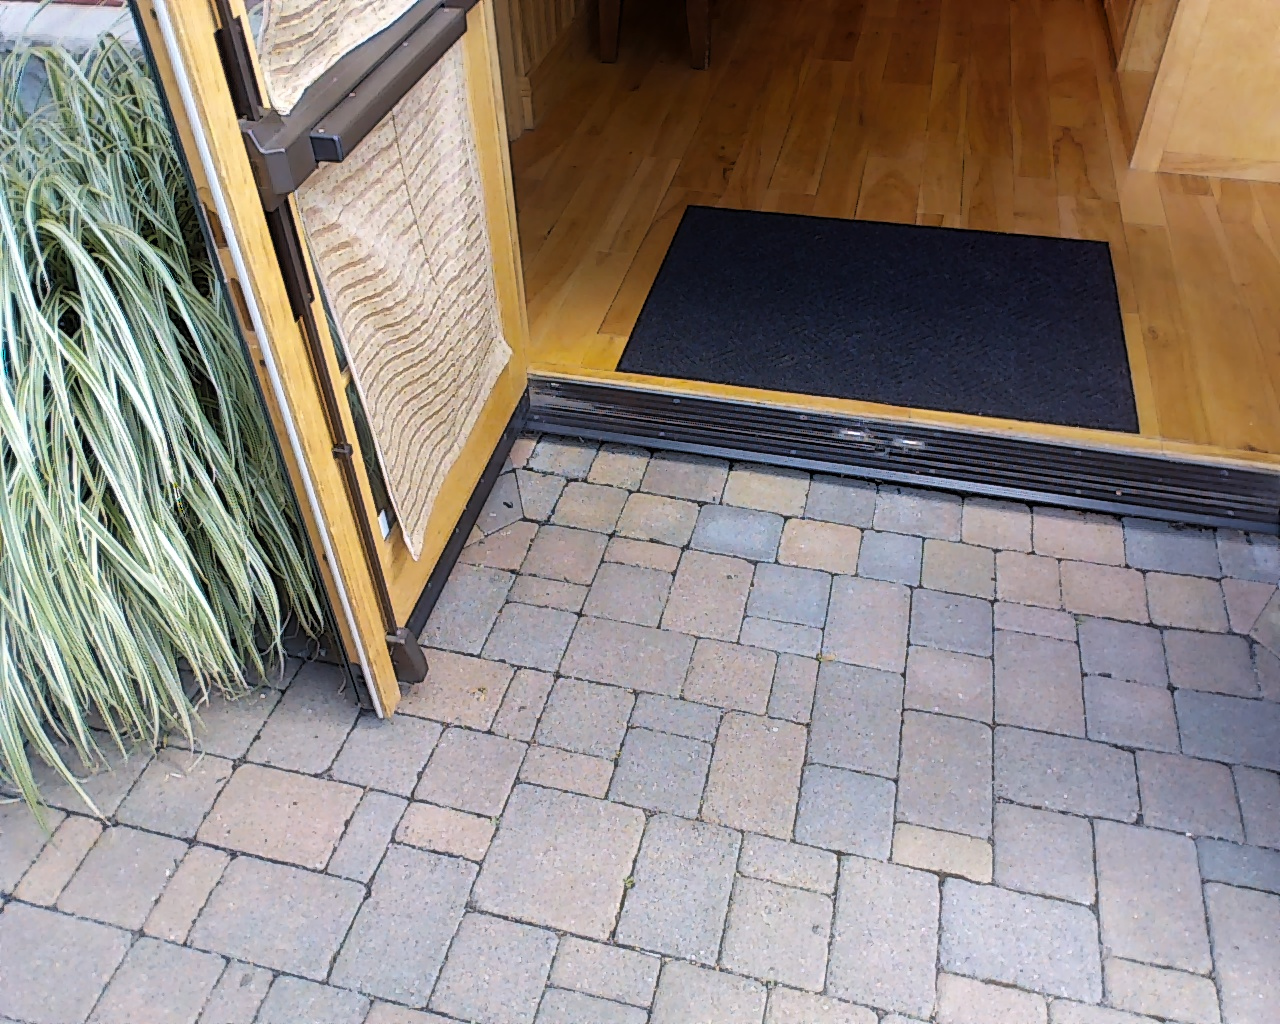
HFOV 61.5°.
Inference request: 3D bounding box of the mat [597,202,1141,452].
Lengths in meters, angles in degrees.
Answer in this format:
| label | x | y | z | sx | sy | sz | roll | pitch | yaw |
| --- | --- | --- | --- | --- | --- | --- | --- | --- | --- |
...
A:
| label | x | y | z | sx | sy | sz | roll | pitch | yaw |
| --- | --- | --- | --- | --- | --- | --- | --- | --- | --- |
| mat | 0.630 | -0.550 | 2.890 | 1.280 | 0.010 | 0.940 | 9 | 44 | 11 |
